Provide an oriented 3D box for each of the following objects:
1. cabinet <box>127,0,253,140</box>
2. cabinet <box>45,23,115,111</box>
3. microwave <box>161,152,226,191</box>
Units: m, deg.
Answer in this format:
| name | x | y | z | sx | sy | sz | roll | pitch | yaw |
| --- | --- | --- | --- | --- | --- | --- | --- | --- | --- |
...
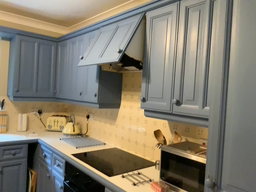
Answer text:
| name | x | y | z | sx | sy | sz | roll | pitch | yaw |
| --- | --- | --- | --- | --- | --- | --- | --- | --- | --- |
| cabinet | 0.360 | -0.210 | 1.390 | 0.300 | 0.830 | 0.690 | 2 | 2 | -42 |
| cabinet | -0.600 | -0.290 | 2.470 | 0.310 | 0.830 | 0.990 | 2 | 2 | -42 |
| microwave | 0.390 | 0.500 | 1.280 | 0.240 | 0.230 | 0.270 | 2 | 1 | -39 |
